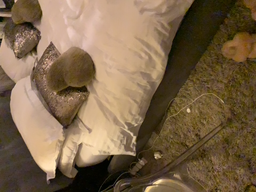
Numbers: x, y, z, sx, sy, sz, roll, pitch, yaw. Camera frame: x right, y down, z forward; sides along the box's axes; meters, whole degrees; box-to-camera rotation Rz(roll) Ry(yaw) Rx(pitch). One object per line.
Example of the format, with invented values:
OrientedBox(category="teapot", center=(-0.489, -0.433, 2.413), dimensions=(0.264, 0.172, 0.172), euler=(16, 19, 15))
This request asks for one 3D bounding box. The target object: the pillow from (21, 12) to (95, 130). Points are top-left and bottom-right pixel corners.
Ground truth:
OrientedBox(category="pillow", center=(-0.500, -0.180, 1.390), dimensions=(0.150, 0.460, 0.640), euler=(-17, 53, -40))

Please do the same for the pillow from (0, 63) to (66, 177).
OrientedBox(category="pillow", center=(-0.680, 0.160, 1.490), dimensions=(0.170, 0.440, 0.670), euler=(-24, 57, -30))

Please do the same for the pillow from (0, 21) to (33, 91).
OrientedBox(category="pillow", center=(-1.120, -0.400, 2.030), dimensions=(0.160, 0.320, 0.690), euler=(-16, 52, -38))
